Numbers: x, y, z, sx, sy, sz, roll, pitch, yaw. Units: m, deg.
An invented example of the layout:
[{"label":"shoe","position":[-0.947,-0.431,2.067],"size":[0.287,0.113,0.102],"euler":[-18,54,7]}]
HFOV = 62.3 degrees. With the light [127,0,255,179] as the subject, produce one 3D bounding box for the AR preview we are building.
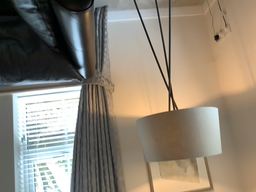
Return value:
[{"label":"light","position":[0.380,-0.190,1.720],"size":[0.500,1.440,0.760],"euler":[-5,169,-9]}]
